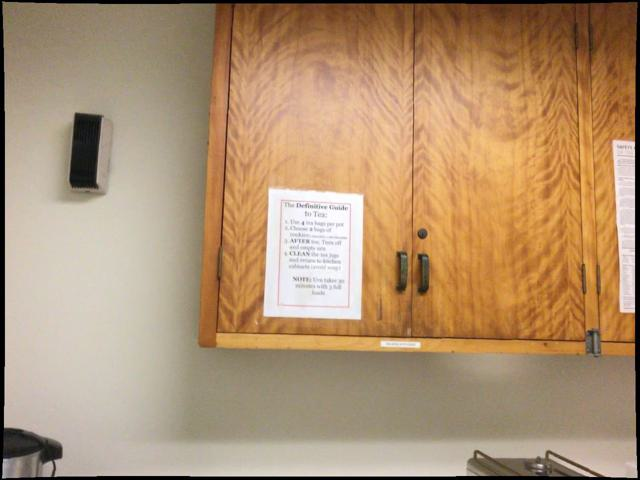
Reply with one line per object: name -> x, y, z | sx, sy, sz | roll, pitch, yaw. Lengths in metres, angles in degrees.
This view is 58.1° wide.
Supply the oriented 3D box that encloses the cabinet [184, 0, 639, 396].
cabinet -> 0.628, -0.160, 1.630 | 1.935, 1.043, 0.410 | 0, -7, -9
